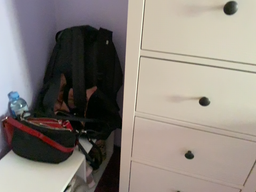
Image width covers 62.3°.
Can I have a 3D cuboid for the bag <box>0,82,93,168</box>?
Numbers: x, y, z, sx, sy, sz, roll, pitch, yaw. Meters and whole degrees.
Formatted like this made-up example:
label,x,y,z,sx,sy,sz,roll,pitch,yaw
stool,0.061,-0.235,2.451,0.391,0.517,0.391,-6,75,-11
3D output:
label,x,y,z,sx,sy,sz,roll,pitch,yaw
bag,-0.330,0.110,0.920,0.270,0.210,0.250,11,32,12
